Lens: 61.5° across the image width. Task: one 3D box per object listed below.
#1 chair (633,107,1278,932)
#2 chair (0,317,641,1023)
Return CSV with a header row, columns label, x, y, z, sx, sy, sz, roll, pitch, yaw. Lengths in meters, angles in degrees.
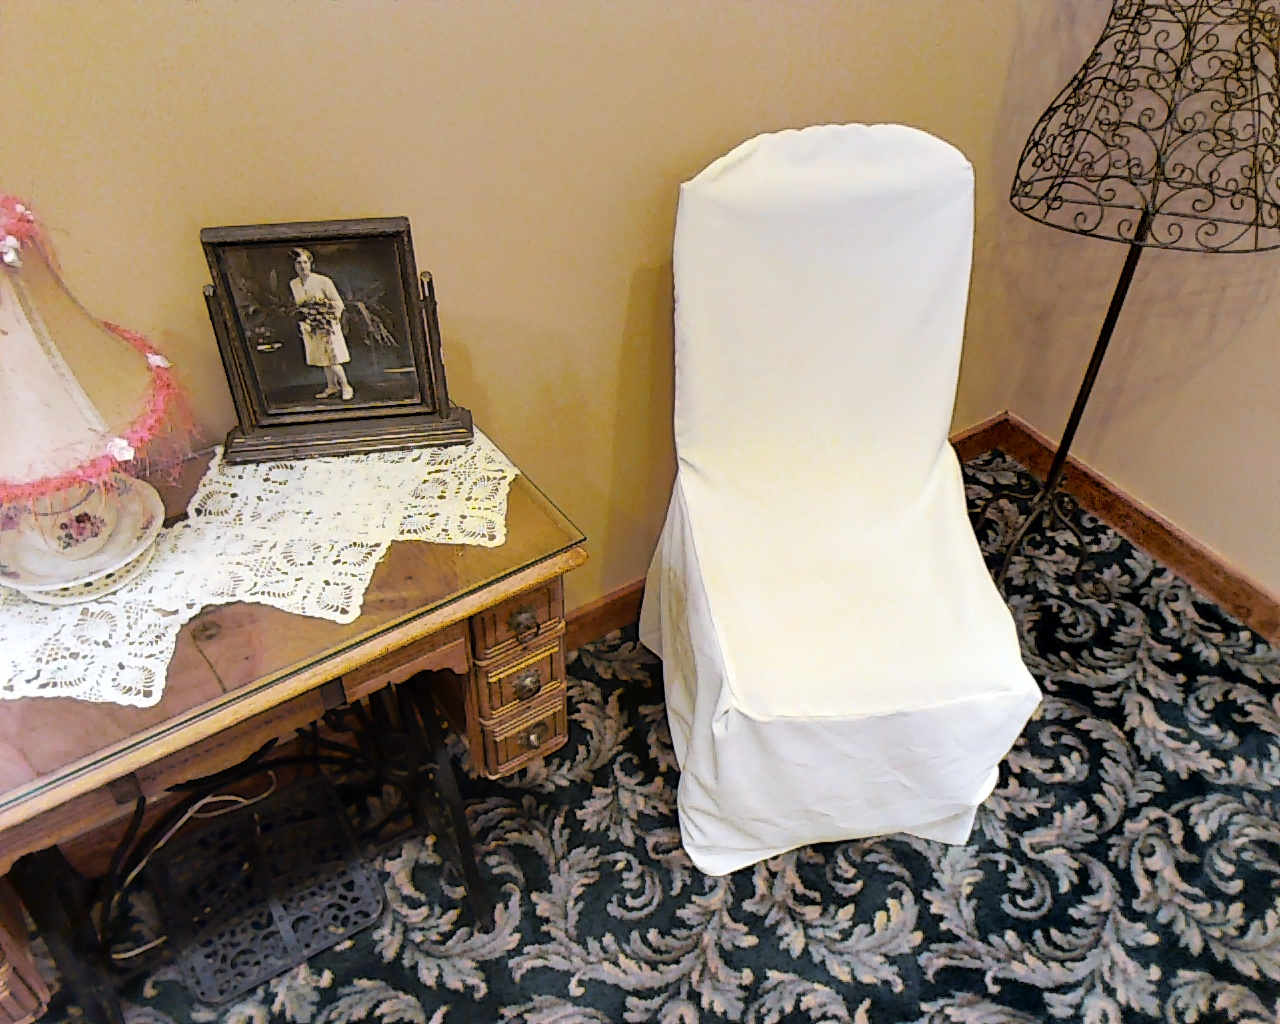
label,x,y,z,sx,sy,sz,roll,pitch,yaw
chair,0.290,0.050,1.550,0.550,1.030,0.600,-2,42,-4
chair,-0.530,0.340,1.380,0.940,0.790,0.490,-25,48,-26
